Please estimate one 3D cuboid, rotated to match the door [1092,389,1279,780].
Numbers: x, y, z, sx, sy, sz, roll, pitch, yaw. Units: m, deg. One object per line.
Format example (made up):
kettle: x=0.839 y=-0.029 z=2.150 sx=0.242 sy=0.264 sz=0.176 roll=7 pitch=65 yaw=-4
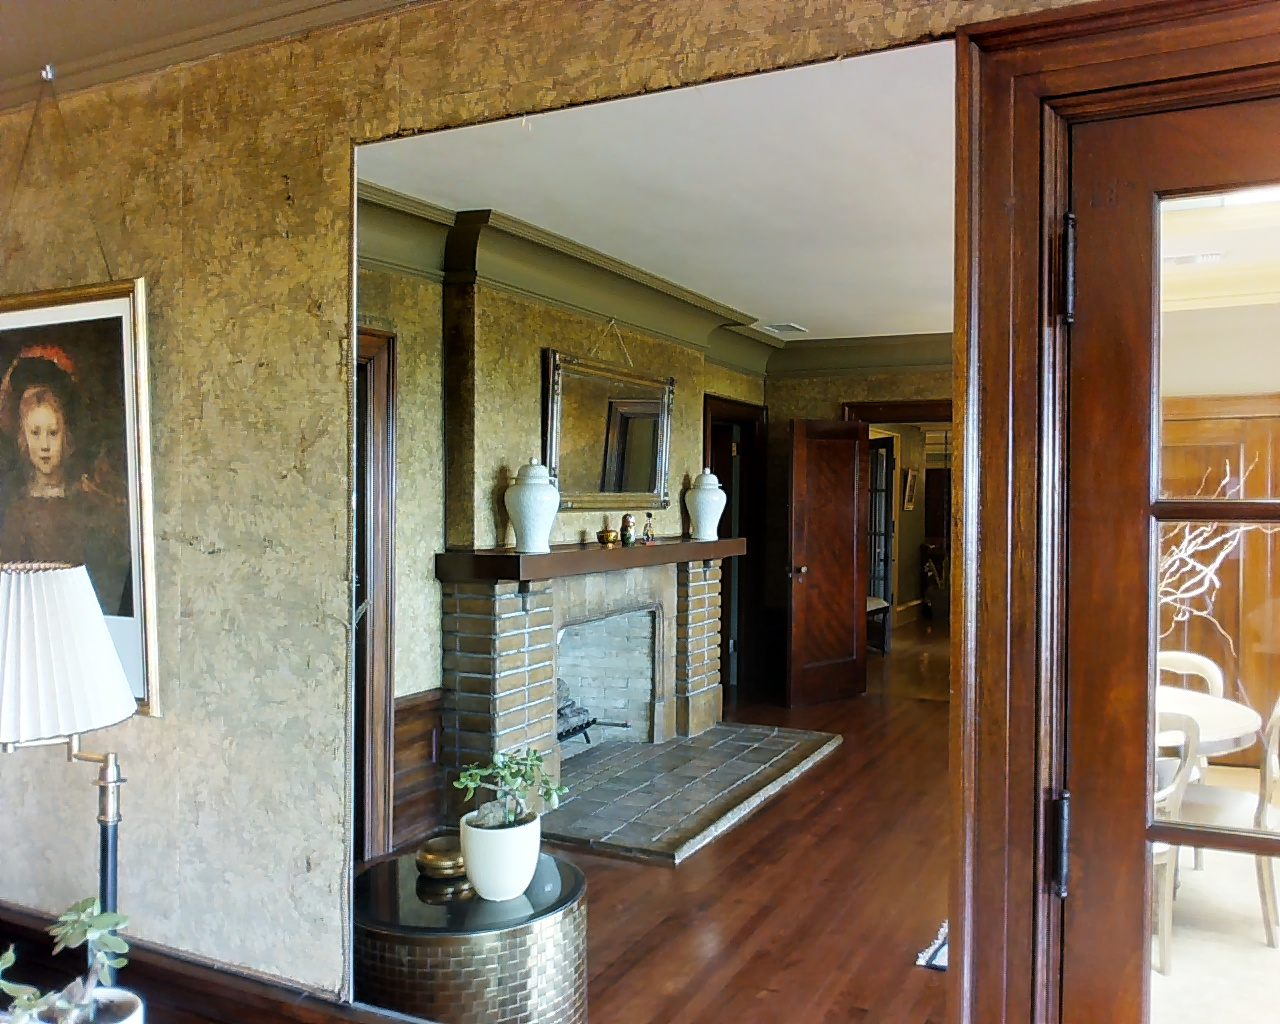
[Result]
door: x=3.779 y=0.430 z=6.440 sx=1.960 sy=2.320 sz=0.080 roll=1 pitch=0 yaw=26
